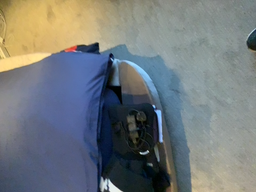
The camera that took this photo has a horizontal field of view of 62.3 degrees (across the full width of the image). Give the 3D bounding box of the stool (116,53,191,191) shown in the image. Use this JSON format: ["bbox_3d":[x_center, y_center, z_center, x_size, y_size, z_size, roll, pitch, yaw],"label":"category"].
[{"bbox_3d":[0.180,0.750,1.240,0.310,0.260,1.920,-1,94,32],"label":"stool"}]
